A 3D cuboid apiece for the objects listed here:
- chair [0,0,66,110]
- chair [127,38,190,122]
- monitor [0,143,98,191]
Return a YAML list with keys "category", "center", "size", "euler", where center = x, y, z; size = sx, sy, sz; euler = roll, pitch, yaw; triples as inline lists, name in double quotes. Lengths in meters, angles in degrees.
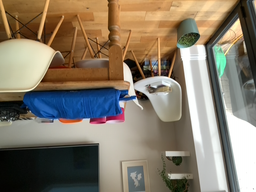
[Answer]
- category: "chair"
  center: [-0.690, -0.350, 1.490]
  size: [0.420, 0.800, 0.500]
  euler: [-1, 164, -9]
- category: "chair"
  center: [0.340, -0.140, 2.450]
  size: [0.490, 0.800, 0.430]
  euler: [12, 158, -44]
- category: "monitor"
  center: [-0.970, 0.960, 2.500]
  size: [1.220, 0.740, 0.040]
  euler: [-2, 168, -4]
